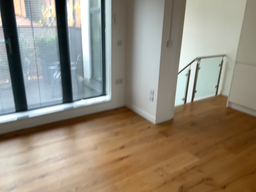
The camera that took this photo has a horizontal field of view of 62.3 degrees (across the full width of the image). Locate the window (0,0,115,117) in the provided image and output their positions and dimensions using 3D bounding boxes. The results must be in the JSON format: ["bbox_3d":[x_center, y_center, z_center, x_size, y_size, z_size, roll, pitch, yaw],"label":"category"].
[{"bbox_3d":[-1.630,-0.750,2.810,3.210,2.060,0.270,-11,23,-33],"label":"window"}]
